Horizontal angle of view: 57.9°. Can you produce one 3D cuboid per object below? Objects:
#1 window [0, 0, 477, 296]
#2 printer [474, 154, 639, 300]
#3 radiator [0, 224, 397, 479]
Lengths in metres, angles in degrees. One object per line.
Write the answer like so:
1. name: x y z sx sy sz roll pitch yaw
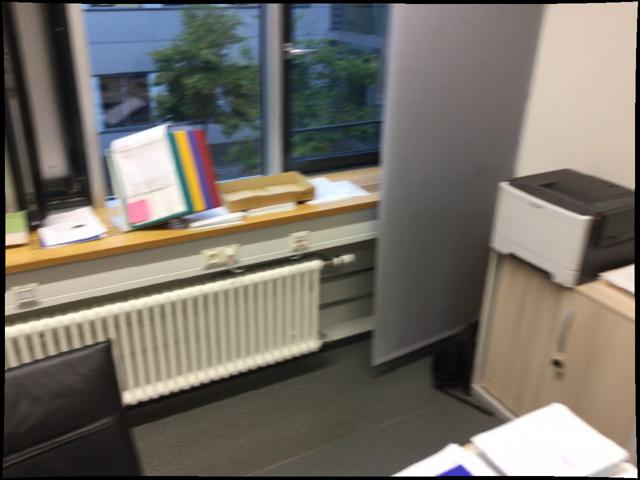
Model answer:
1. window: -1.099 -0.380 2.020 3.437 0.841 0.800 -13 29 -25
2. printer: 0.989 -0.080 2.320 0.470 0.340 0.500 -13 29 -25
3. radiator: -0.909 0.531 2.300 2.648 0.621 0.350 -13 29 -25
